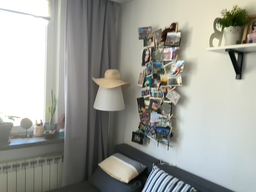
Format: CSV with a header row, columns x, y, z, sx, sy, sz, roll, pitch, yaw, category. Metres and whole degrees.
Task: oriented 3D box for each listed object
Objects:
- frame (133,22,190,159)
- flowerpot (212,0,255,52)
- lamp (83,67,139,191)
x,y,z,sx,sy,sz,roll,pitch,yaw,category
0.310,-0.060,2.140,0.120,1.210,0.570,1,5,-36,frame
0.750,-0.480,1.510,0.140,0.300,0.220,0,5,-40,flowerpot
-0.200,0.350,2.440,0.450,1.320,0.370,1,5,-34,lamp
